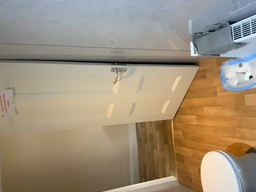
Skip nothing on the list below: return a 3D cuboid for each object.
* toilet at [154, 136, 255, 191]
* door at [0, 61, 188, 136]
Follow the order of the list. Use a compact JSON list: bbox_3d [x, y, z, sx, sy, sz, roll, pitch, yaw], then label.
[{"bbox_3d":[0.680,0.730,1.670,0.360,0.840,0.680,173,93,-65],"label":"toilet"},{"bbox_3d":[-0.280,0.010,2.160,0.120,1.800,0.740,-118,35,-42],"label":"door"}]
